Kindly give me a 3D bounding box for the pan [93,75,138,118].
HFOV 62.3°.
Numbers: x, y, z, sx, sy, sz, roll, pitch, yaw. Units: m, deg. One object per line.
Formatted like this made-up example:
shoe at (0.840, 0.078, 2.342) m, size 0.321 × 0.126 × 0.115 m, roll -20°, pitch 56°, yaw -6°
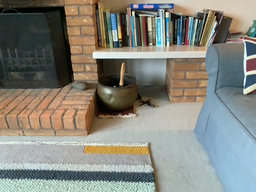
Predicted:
pan at (-0.090, -0.010, 1.810) m, size 0.320 × 0.230 × 0.350 m, roll 2°, pitch 25°, yaw 5°
